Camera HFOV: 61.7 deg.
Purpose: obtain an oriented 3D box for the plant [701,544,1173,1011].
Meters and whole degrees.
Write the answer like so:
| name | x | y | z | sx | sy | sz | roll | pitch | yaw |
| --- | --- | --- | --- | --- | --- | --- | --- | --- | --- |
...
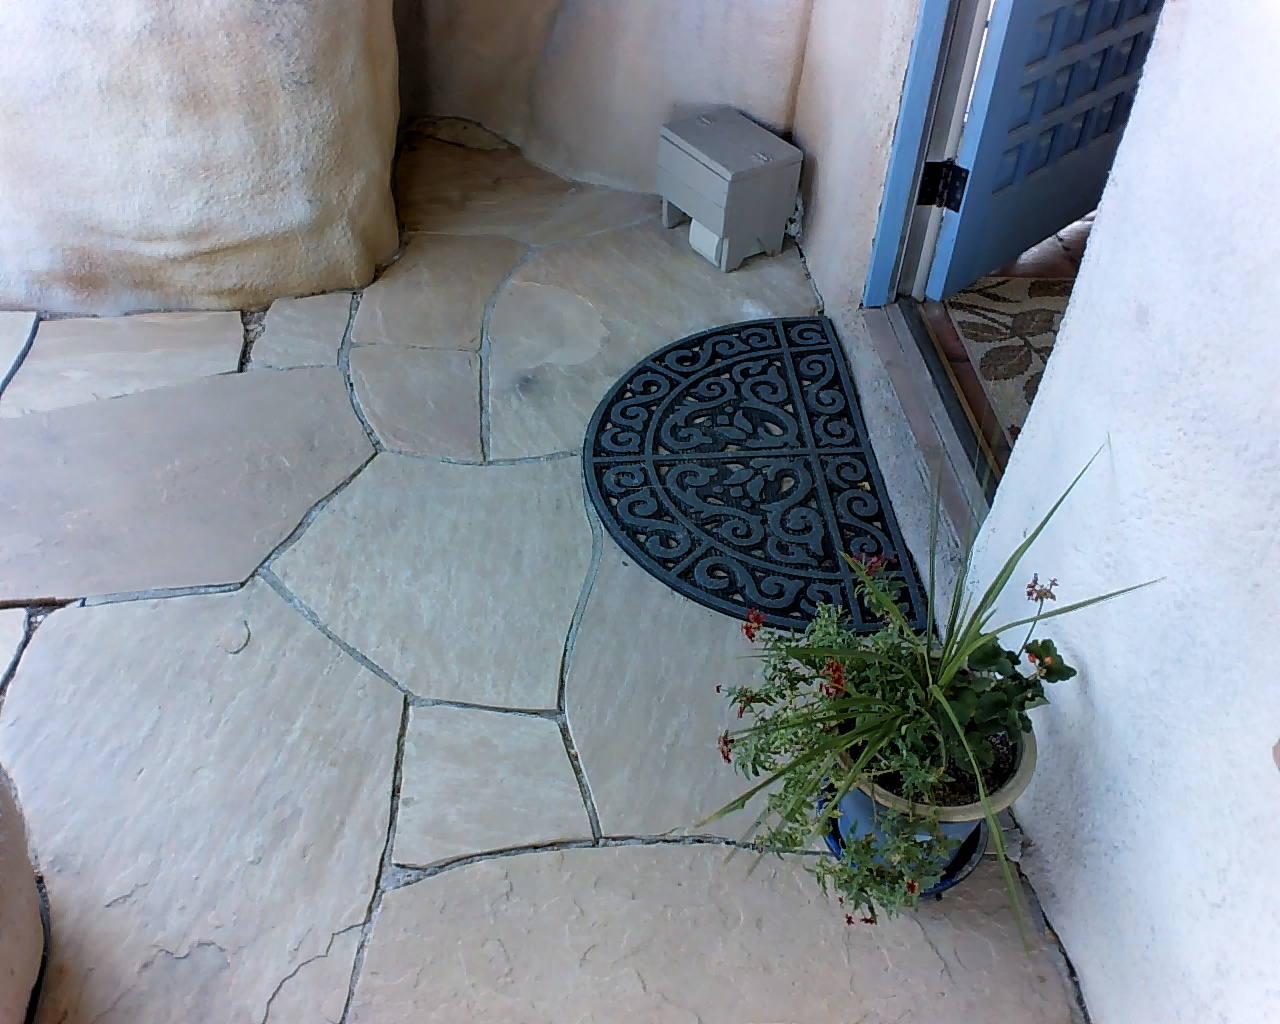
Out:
| name | x | y | z | sx | sy | sz | roll | pitch | yaw |
| --- | --- | --- | --- | --- | --- | --- | --- | --- | --- |
| plant | 0.360 | 0.360 | 1.500 | 0.440 | 0.380 | 0.440 | -7 | 44 | -8 |
